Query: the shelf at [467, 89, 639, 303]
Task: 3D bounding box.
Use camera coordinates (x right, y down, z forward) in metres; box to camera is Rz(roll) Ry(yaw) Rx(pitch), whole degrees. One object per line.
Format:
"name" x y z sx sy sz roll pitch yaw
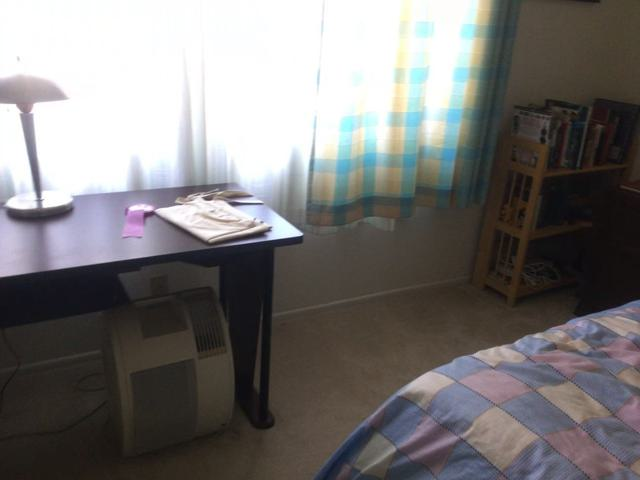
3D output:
"shelf" 1.180 -0.240 2.910 0.660 0.970 0.330 -7 24 -26
